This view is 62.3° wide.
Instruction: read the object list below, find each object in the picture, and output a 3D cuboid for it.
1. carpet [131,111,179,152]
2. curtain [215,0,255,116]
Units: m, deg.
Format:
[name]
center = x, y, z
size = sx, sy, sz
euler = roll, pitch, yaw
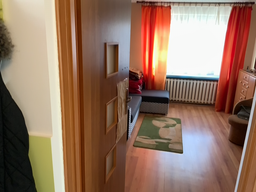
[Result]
[carpet]
center = 0.590, 0.610, 4.100
size = 0.750, 0.050, 1.530
euler = 6, 16, 12
[curtain]
center = 2.540, -0.860, 4.890
size = 0.620, 2.690, 0.180
euler = 5, 16, 9
